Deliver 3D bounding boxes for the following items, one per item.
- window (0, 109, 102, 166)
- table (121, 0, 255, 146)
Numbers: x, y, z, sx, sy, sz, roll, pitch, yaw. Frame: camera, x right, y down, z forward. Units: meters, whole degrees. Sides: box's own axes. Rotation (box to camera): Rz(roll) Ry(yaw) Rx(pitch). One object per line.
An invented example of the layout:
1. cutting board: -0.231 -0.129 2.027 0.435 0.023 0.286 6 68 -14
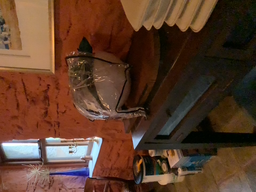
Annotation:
1. window: -0.890 0.470 2.310 0.940 1.050 0.110 111 153 -45
2. table: 0.520 -0.300 0.890 1.140 0.800 0.500 111 155 -46
